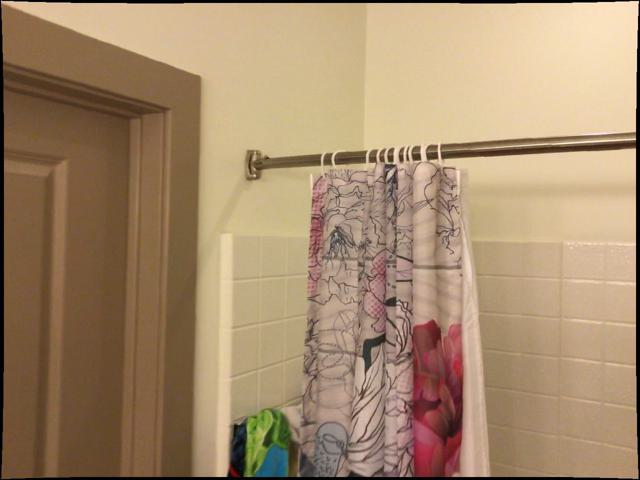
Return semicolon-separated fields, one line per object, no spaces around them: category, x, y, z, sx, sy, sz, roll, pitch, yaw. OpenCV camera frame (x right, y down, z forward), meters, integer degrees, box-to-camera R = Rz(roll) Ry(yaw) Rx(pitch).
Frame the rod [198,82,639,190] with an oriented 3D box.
rod;0.140;-0.170;1.100;0.829;0.090;0.190;-1;2;32
